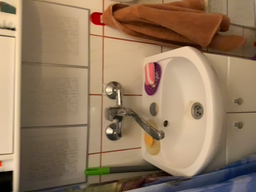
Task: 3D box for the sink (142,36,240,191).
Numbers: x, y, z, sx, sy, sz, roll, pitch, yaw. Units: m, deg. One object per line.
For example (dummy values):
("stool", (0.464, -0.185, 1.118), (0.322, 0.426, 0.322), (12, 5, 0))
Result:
("sink", (0.190, 0.060, 0.720), (0.310, 0.140, 0.430), (0, 90, 63))
